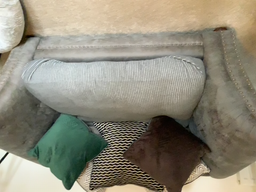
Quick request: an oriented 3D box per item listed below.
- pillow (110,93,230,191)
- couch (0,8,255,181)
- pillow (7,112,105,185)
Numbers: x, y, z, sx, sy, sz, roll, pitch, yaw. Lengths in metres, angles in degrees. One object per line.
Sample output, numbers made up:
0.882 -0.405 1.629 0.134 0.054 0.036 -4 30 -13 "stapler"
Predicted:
0.270 0.390 1.430 0.510 0.570 0.330 31 153 20 "pillow"
-0.030 0.110 1.590 1.680 0.750 1.100 0 152 10 "couch"
-0.480 0.370 1.520 0.520 0.440 0.250 -1 152 11 "pillow"
